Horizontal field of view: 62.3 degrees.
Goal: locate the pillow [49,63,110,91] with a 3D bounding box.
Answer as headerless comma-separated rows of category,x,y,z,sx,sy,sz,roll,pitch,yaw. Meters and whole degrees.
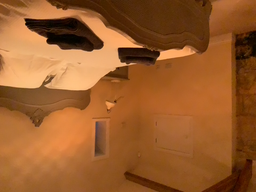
pillow,-0.670,-0.240,2.940,0.540,0.280,0.630,0,177,45

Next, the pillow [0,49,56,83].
pillow,-1.160,-0.310,2.370,0.540,0.260,0.390,3,177,-45
